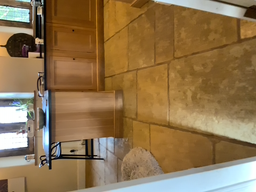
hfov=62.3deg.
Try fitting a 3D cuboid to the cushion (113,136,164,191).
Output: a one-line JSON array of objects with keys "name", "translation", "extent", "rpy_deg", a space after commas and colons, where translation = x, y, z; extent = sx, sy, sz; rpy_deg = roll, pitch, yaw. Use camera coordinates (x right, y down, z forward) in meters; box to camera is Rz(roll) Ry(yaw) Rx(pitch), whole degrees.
[{"name": "cushion", "translation": [0.060, 1.040, 2.320], "extent": [0.990, 0.090, 0.990], "rpy_deg": [-175, 85, -65]}]
